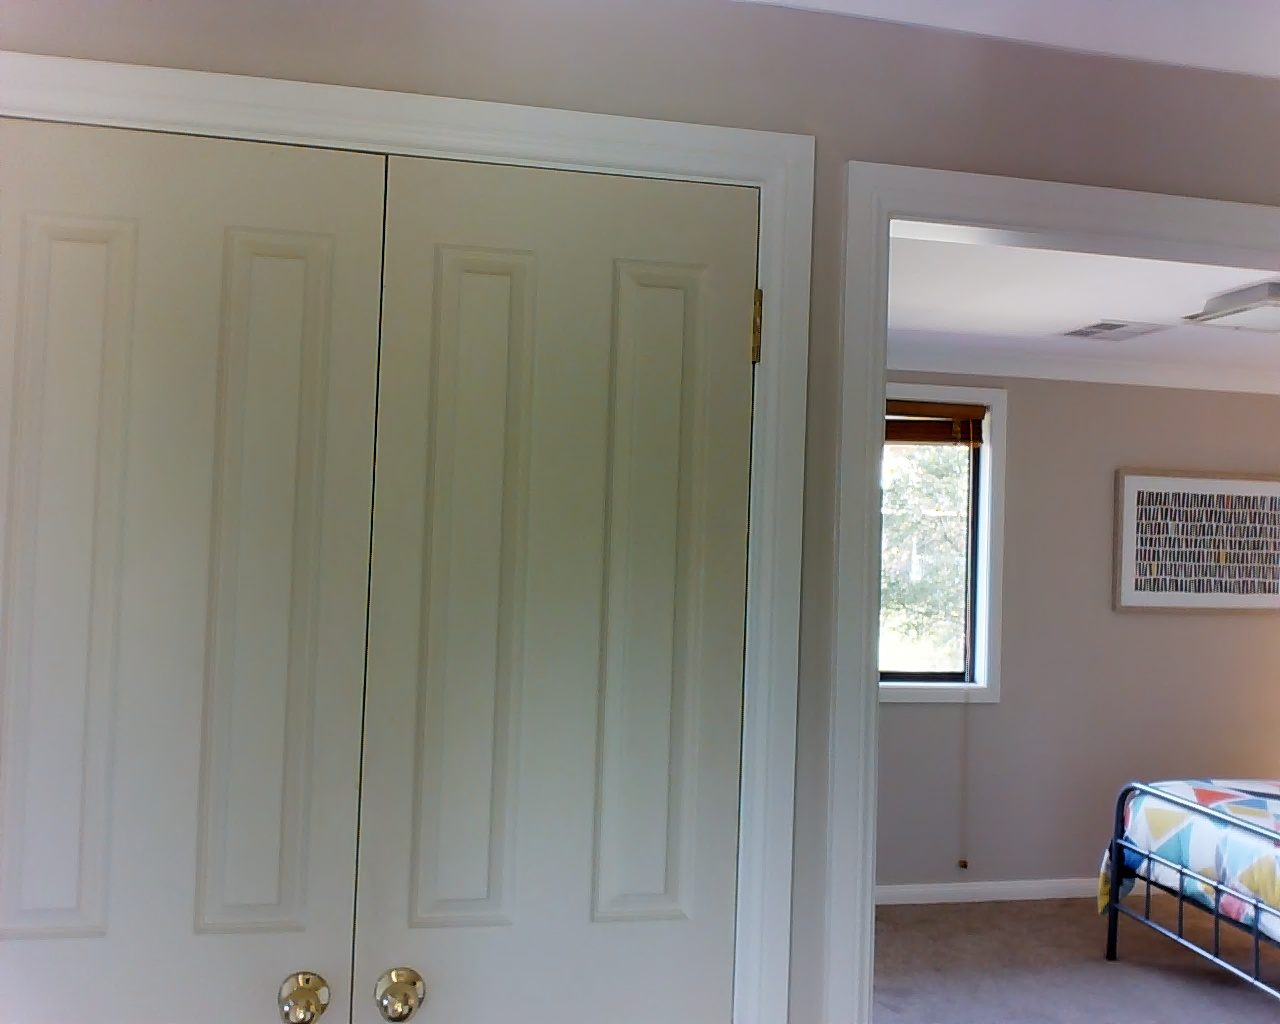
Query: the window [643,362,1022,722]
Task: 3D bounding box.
[{"bbox_3d":[0.850,0.150,4.630,1.620,1.480,0.180,2,-2,-11],"label":"window"}]
